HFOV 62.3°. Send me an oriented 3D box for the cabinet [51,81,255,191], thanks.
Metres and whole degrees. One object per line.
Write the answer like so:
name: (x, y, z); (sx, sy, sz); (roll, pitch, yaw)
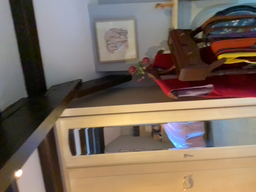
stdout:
cabinet: (0.410, 0.680, 2.250); (0.640, 2.030, 1.480); (-95, 2, -74)
